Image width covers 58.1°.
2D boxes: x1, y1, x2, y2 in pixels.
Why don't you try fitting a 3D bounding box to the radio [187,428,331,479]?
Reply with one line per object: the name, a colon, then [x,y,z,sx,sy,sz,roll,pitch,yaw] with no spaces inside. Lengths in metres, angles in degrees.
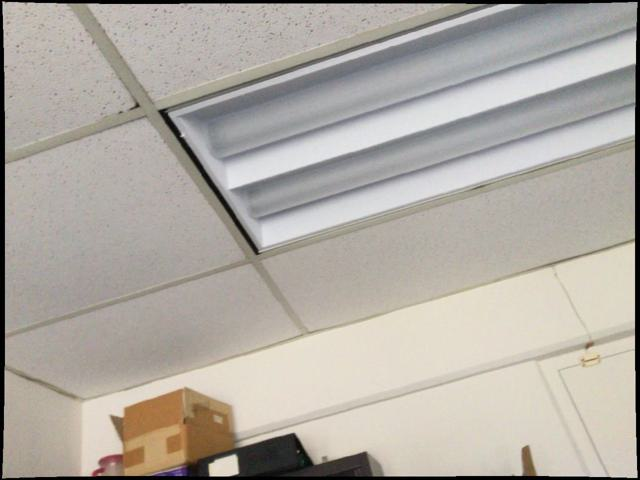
radio: [-0.170,0.732,1.790,0.339,0.110,0.390,-17,-33,3]
